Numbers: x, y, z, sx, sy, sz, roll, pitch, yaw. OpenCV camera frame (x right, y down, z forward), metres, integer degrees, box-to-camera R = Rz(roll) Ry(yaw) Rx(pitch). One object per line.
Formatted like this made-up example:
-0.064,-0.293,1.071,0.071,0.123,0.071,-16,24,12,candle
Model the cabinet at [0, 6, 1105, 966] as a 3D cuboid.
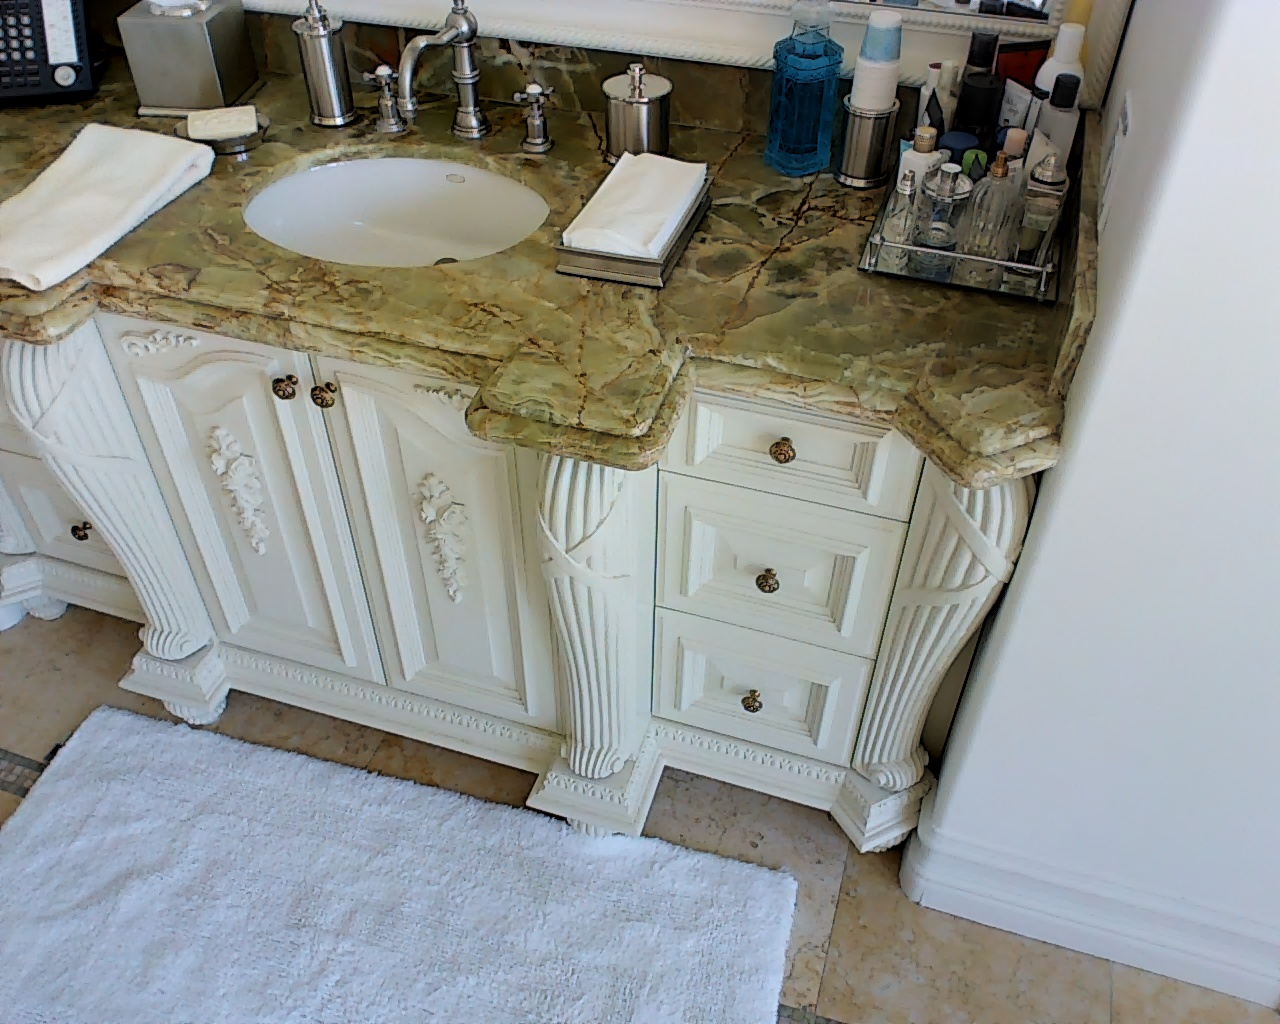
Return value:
-0.320,-0.100,1.730,1.760,0.970,0.750,12,44,13,cabinet
